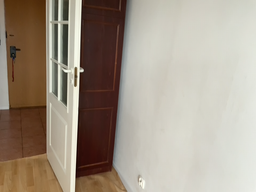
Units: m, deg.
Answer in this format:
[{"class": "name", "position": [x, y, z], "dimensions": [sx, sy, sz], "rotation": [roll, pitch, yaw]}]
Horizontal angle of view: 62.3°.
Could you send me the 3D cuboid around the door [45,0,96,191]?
[{"class": "door", "position": [-0.580, -0.190, 1.910], "dimensions": [0.150, 2.180, 0.950], "rotation": [-4, 18, -31]}]
